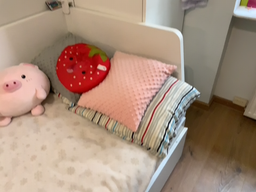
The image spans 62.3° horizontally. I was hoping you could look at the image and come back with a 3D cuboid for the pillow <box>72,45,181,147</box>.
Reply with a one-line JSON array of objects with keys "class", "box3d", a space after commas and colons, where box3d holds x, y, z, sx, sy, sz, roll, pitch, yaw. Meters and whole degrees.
[{"class": "pillow", "box3d": [0.010, -0.030, 0.990, 0.320, 0.210, 0.380, 22, 44, 26]}]
